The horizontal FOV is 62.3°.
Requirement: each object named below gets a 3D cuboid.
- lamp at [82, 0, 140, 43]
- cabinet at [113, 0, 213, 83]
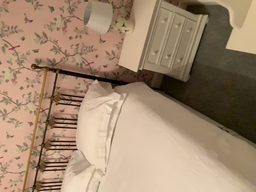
[{"bbox_3d":[-0.150,-0.650,1.820,0.240,0.370,0.280,35,113,56],"label":"lamp"},{"bbox_3d":[0.310,-0.550,2.030,0.450,0.630,0.670,37,114,56],"label":"cabinet"}]
